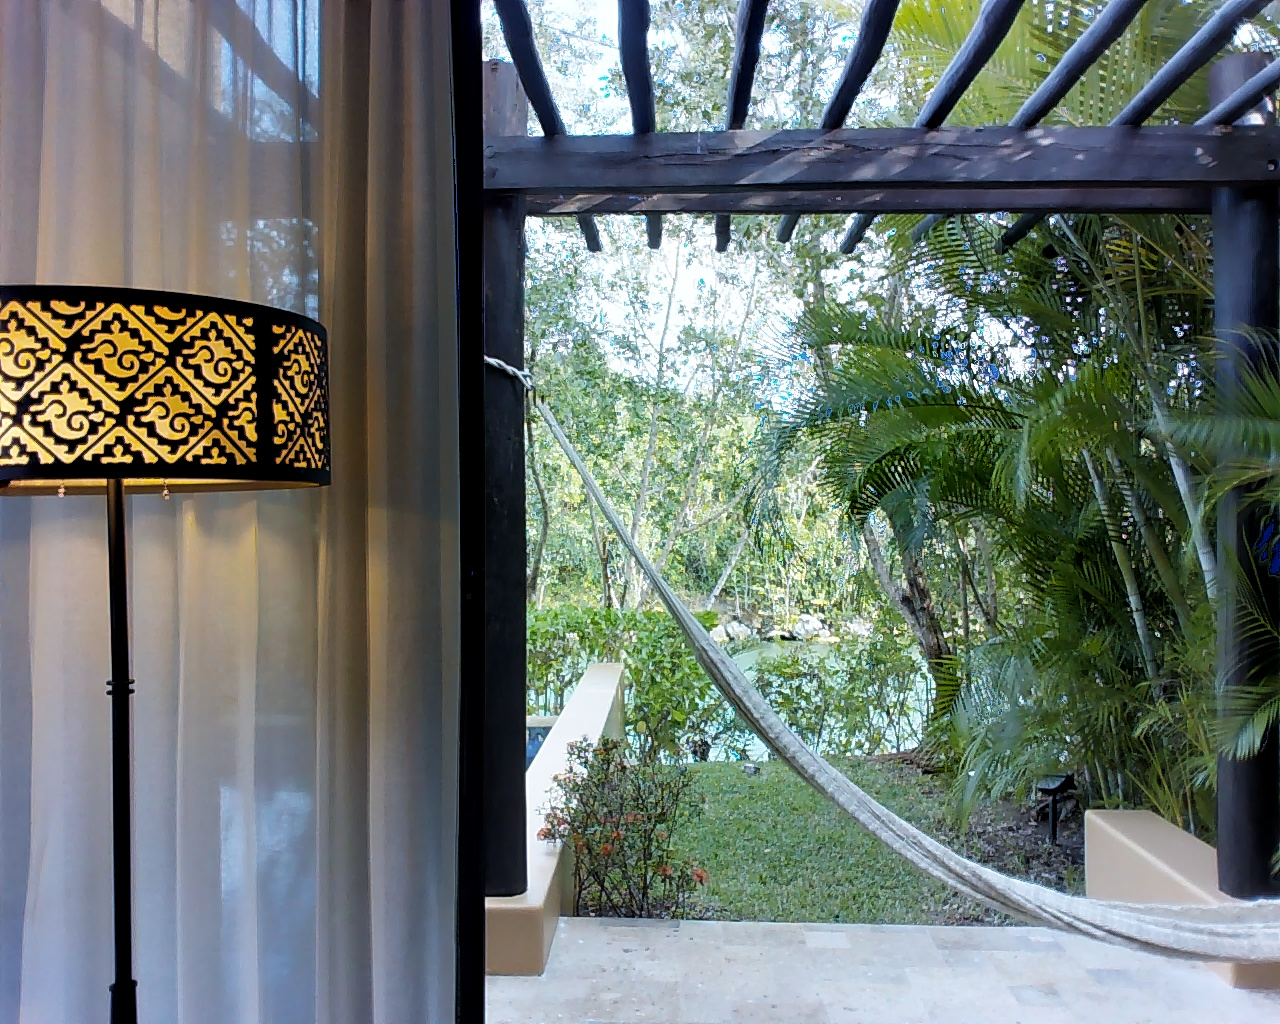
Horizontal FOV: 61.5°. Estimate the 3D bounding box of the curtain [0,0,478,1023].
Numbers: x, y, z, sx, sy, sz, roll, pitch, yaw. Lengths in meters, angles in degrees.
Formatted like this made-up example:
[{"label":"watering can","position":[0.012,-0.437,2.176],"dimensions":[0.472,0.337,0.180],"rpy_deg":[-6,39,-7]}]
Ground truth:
[{"label":"curtain","position":[-0.890,0.080,1.480],"dimensions":[1.240,2.621,0.460],"rpy_deg":[-1,0,2]}]
